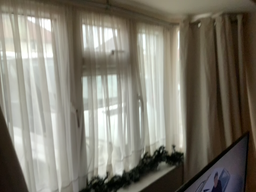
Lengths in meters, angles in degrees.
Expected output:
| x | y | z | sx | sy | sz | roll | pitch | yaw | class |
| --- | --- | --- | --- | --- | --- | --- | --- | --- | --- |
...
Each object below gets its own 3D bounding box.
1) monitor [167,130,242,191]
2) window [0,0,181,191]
| x | y | z | sx | sy | sz | roll | pitch | yaw | class |
| --- | --- | --- | --- | --- | --- | --- | --- | --- | --- |
| 0.500 | 0.620 | 1.220 | 0.020 | 0.610 | 1.040 | 4 | 10 | 42 | monitor |
| -0.070 | -0.020 | 1.510 | 0.140 | 1.360 | 1.600 | 4 | 9 | 41 | window |
